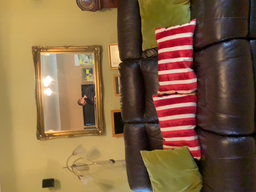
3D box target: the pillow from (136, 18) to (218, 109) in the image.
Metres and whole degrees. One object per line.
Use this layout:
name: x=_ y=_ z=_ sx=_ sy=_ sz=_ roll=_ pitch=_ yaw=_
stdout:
pillow: x=0.350 y=-0.230 z=1.560 sx=0.560 sy=0.310 sz=0.120 roll=-56 pitch=6 yaw=2

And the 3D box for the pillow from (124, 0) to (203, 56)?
pillow: x=0.270 y=-0.620 z=1.660 sx=0.420 sy=0.420 sz=0.130 roll=-50 pitch=6 yaw=0

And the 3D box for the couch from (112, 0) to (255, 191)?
couch: x=0.450 y=-0.060 z=1.650 sx=1.030 sy=1.010 sz=2.180 roll=-168 pitch=74 yaw=-84

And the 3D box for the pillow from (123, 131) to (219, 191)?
pillow: x=0.330 y=0.660 z=1.720 sx=0.540 sy=0.510 sz=0.100 roll=-46 pitch=-13 yaw=3
